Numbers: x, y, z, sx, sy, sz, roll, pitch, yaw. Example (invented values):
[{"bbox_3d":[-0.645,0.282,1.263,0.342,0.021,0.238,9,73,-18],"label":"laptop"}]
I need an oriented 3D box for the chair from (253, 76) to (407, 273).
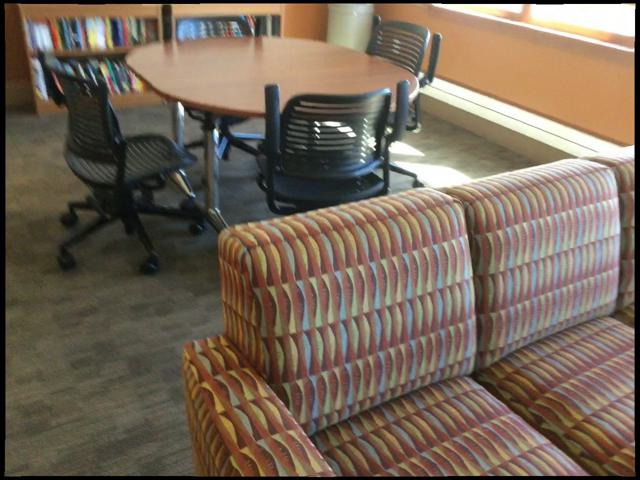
[{"bbox_3d":[0.000,-0.271,2.340,0.509,0.661,0.420,-2,31,-10],"label":"chair"}]
